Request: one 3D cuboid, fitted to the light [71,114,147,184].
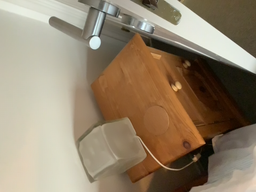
[{"bbox_3d":[-0.070,0.180,0.750,0.160,0.160,0.170,-39,64,33],"label":"light"}]

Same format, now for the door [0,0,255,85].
[{"bbox_3d":[-0.300,-0.320,0.500,0.990,2.180,0.110,34,110,37],"label":"door"}]
